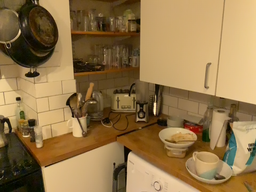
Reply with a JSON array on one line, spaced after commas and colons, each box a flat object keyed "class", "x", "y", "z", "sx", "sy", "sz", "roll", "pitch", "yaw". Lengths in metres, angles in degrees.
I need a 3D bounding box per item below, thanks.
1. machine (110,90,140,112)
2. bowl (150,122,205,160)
[{"class": "machine", "x": -0.030, "y": 0.050, "z": 2.080, "sx": 0.270, "sy": 0.170, "sz": 0.150, "roll": 2, "pitch": 15, "yaw": 8}, {"class": "bowl", "x": 0.310, "y": 0.270, "z": 1.340, "sx": 0.240, "sy": 0.100, "sz": 0.230, "roll": -11, "pitch": 18, "yaw": -38}]
